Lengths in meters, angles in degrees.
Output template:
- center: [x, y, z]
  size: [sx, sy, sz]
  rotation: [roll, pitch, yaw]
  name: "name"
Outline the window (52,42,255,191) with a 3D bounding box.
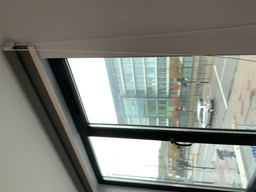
- center: [0.330, 0.300, 1.590]
  size: [0.140, 1.390, 1.440]
  rotation: [-76, -16, -48]
  name: "window"
